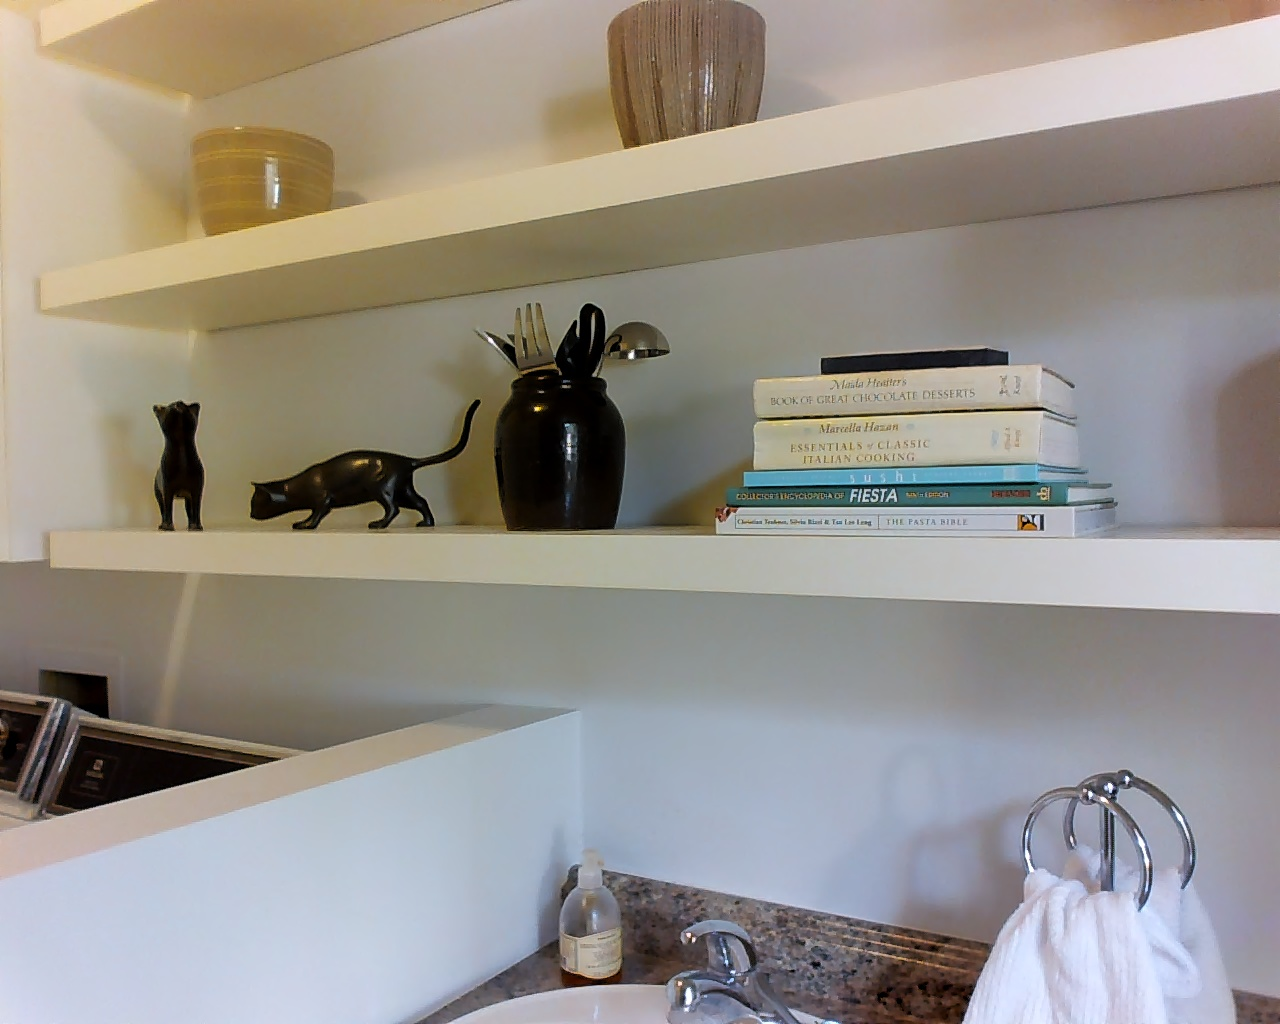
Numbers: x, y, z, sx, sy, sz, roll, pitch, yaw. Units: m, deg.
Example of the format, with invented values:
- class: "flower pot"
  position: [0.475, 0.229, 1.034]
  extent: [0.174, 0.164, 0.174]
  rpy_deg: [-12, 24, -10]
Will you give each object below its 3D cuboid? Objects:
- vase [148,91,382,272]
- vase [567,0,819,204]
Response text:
- class: "vase"
  position: [-0.510, -0.440, 1.470]
  extent: [0.220, 0.160, 0.210]
  rpy_deg: [0, 1, 32]
- class: "vase"
  position: [0.060, -0.460, 1.140]
  extent: [0.200, 0.190, 0.190]
  rpy_deg: [0, 1, 31]
